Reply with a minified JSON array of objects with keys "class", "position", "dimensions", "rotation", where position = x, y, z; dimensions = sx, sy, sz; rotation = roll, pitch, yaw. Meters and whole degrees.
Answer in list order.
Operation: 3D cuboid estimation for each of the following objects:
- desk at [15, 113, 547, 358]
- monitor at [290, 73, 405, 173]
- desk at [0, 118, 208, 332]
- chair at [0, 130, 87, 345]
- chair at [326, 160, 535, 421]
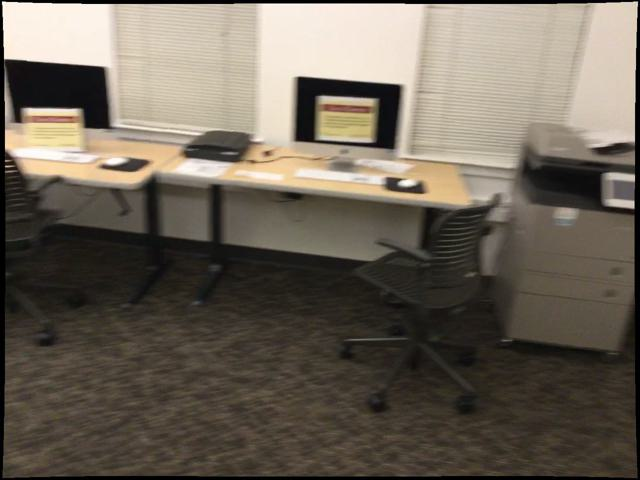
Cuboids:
[{"class":"desk","position":[-0.190,-0.100,3.050],"dimensions":[2.348,0.781,0.860],"rotation":[6,23,6]},{"class":"monitor","position":[0.140,-0.591,2.890],"dimensions":[0.519,0.400,0.270],"rotation":[6,23,6]},{"class":"desk","position":[-1.359,-0.150,3.100],"dimensions":[1.239,0.721,0.970],"rotation":[6,23,6]},{"class":"chair","position":[-1.479,-0.030,2.640],"dimensions":[0.609,0.821,0.590],"rotation":[-1,24,-11]},{"class":"chair","position":[0.430,0.170,2.430],"dimensions":[0.510,0.831,0.570],"rotation":[-17,30,-39]}]
